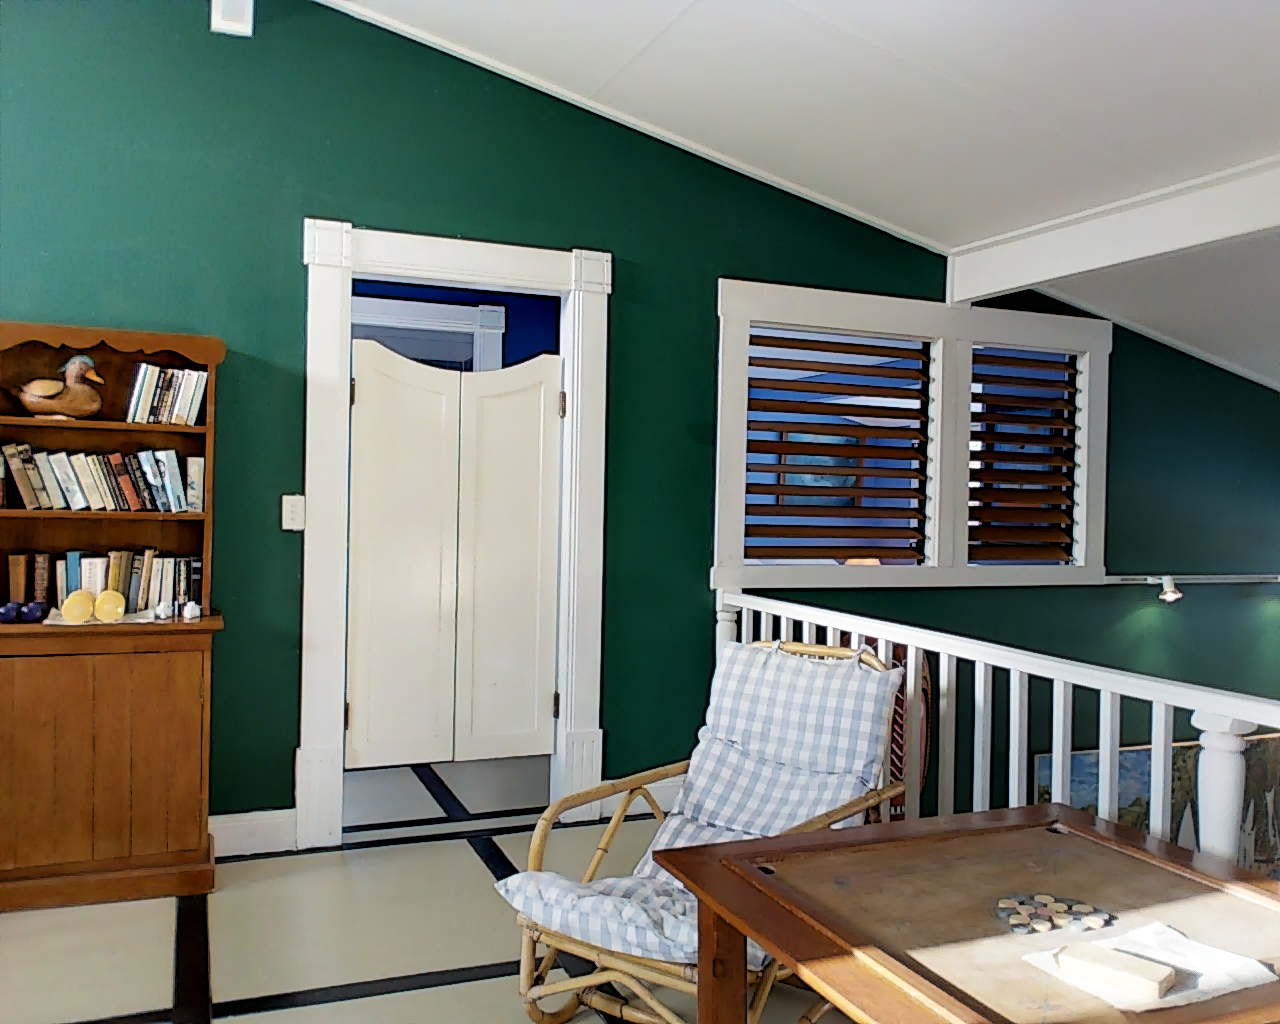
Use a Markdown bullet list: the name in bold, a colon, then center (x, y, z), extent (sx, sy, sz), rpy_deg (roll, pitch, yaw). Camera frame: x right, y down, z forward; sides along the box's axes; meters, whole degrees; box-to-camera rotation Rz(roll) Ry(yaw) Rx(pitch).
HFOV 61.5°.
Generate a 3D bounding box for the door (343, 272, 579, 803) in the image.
- **door**: center (-0.660, 0.100, 4.020), extent (0.810, 1.881, 0.140), rpy_deg (2, 0, -22)

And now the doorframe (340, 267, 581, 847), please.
- **doorframe**: center (-0.660, 0.170, 4.010), extent (0.820, 2.051, 0.130), rpy_deg (2, 0, -22)

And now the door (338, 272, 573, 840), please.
- **door**: center (-0.680, 0.170, 4.040), extent (0.820, 2.041, 0.050), rpy_deg (2, 0, -22)
